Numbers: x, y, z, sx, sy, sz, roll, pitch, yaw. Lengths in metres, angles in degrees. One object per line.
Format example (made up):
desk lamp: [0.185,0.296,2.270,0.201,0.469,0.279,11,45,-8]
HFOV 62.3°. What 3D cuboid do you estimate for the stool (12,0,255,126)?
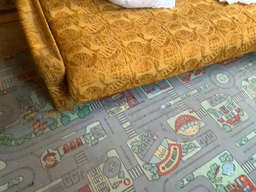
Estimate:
stool: [0.350,-0.640,1.700,2.200,0.470,1.000,-17,60,-18]
